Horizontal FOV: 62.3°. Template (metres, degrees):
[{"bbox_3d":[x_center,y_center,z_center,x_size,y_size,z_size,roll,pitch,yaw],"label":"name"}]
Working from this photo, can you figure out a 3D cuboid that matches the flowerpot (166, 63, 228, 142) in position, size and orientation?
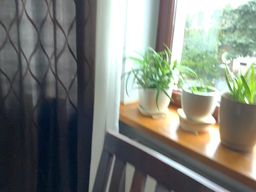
[{"bbox_3d":[0.350,0.020,1.110,0.170,0.350,0.200,-11,23,-38],"label":"flowerpot"}]

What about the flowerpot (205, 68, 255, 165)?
[{"bbox_3d":[0.500,0.070,0.920,0.220,0.340,0.180,-13,24,-42],"label":"flowerpot"}]
